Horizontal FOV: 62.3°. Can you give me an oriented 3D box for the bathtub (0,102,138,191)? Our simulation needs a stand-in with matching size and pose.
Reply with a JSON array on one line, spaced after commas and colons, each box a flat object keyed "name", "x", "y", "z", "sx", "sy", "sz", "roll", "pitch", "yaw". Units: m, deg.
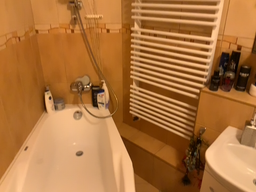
[{"name": "bathtub", "x": -0.360, "y": 0.640, "z": 1.560, "sx": 0.800, "sy": 0.560, "sz": 1.480, "roll": -1, "pitch": 26, "yaw": -2}]

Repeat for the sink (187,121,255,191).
[{"name": "sink", "x": 0.620, "y": 0.360, "z": 1.000, "sx": 0.510, "sy": 0.150, "sz": 0.410, "roll": 22, "pitch": 33, "yaw": 37}]
